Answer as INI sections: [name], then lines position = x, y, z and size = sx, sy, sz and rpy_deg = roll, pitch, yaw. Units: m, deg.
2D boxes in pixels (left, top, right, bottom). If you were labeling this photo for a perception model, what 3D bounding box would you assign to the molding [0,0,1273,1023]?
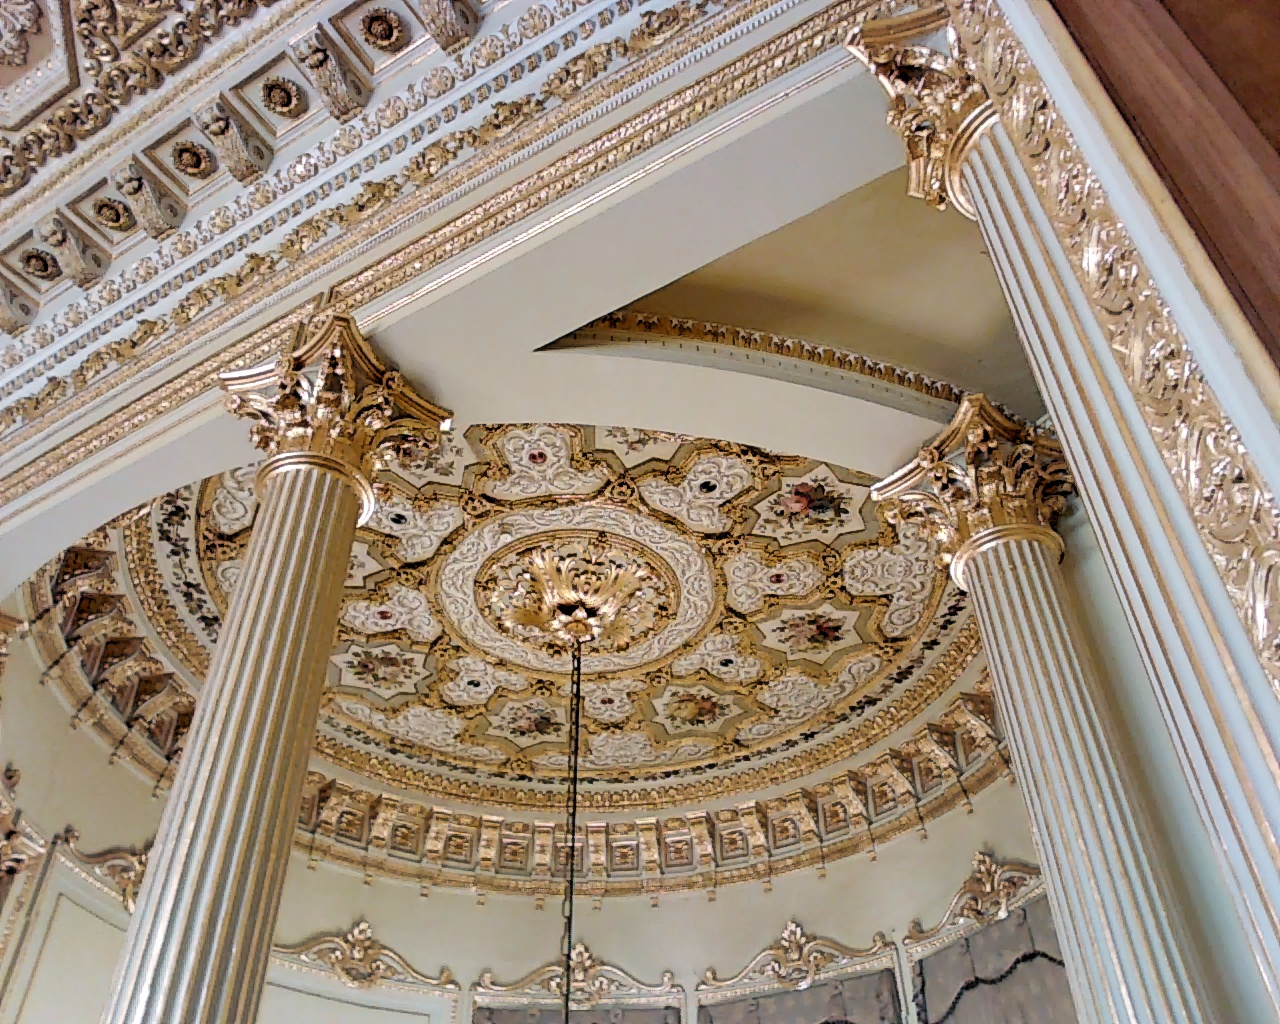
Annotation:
[molding]
position = -0.620, 1.371, 6.380
size = 6.847, 1.431, 5.660
rpy_deg = -22, -46, 23
